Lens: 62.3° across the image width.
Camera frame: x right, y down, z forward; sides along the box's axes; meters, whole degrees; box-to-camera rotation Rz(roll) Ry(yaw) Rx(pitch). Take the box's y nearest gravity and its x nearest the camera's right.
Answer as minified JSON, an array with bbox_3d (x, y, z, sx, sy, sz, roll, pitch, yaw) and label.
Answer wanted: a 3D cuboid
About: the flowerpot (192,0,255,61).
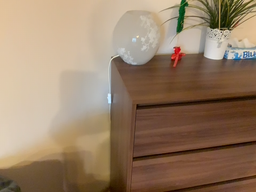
[{"bbox_3d":[0.470,-0.350,1.020,0.220,0.330,0.130,-3,30,-11],"label":"flowerpot"}]
